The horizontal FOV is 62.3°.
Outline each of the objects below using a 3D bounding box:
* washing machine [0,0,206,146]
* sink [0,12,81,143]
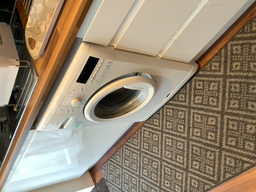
[{"bbox_3d":[-0.160,-0.210,1.310,0.600,0.920,0.670,-49,56,35],"label":"washing machine"},{"bbox_3d":[-0.540,-0.090,1.200,0.490,0.210,0.500,-49,56,35],"label":"sink"}]
